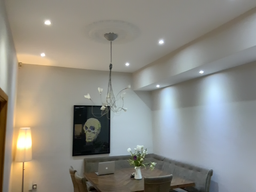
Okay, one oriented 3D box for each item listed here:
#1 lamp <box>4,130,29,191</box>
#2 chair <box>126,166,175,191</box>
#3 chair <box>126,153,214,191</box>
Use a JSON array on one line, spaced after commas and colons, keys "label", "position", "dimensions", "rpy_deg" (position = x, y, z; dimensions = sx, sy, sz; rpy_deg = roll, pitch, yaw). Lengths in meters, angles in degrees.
[{"label": "lamp", "position": [-2.110, 1.480, 4.000], "dimensions": [0.360, 1.650, 0.340], "rpy_deg": [3, -8, -27]}, {"label": "chair", "position": [0.320, 1.630, 3.170], "dimensions": [0.490, 0.970, 0.640], "rpy_deg": [3, -7, -23]}, {"label": "chair", "position": [0.680, 1.780, 4.260], "dimensions": [0.670, 0.920, 2.070], "rpy_deg": [3, -8, -25]}]
